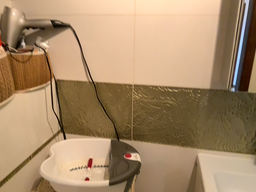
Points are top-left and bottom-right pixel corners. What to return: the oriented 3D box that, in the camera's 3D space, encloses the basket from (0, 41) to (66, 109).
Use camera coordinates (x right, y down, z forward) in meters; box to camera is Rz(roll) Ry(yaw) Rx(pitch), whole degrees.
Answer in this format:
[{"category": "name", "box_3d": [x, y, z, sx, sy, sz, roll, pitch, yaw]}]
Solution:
[{"category": "basket", "box_3d": [-0.490, -0.090, 0.780, 0.240, 0.180, 0.560, 6, 18, 13]}]
